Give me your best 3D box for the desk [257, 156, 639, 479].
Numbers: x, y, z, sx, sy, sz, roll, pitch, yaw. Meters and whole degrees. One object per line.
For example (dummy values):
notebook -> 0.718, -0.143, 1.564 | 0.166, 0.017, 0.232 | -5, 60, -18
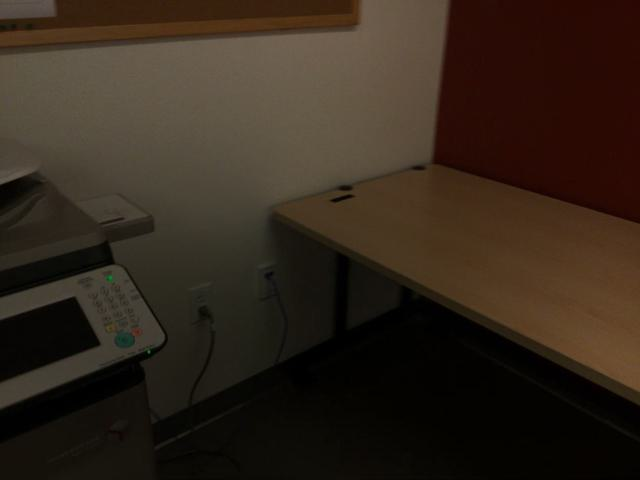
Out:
desk -> 0.510, 0.310, 1.660 | 0.810, 0.730, 1.230 | -17, 29, -35
